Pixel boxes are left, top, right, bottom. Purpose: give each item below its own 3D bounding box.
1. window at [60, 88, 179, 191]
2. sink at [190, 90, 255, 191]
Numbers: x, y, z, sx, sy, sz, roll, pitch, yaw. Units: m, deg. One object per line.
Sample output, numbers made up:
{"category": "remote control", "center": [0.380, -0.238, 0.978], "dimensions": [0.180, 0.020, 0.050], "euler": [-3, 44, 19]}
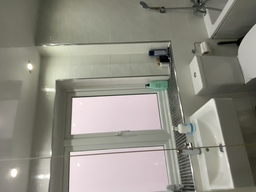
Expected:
{"category": "window", "center": [-0.100, 0.430, 2.150], "dimensions": [0.140, 1.080, 1.010], "euler": [100, 167, -70]}
{"category": "sink", "center": [0.650, 0.330, 1.460], "dimensions": [0.470, 0.200, 0.610], "euler": [101, 166, -71]}
